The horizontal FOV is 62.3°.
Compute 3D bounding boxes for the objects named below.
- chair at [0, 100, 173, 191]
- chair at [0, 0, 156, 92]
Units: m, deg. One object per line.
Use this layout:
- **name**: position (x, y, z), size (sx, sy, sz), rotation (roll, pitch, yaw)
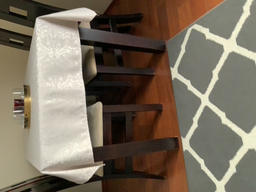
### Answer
- **chair**: position (-0.260, 0.330, 1.310), size (0.440, 0.930, 0.530), rotation (-22, 71, 60)
- **chair**: position (-0.350, -0.330, 1.450), size (0.440, 0.930, 0.510), rotation (-28, 67, 58)
